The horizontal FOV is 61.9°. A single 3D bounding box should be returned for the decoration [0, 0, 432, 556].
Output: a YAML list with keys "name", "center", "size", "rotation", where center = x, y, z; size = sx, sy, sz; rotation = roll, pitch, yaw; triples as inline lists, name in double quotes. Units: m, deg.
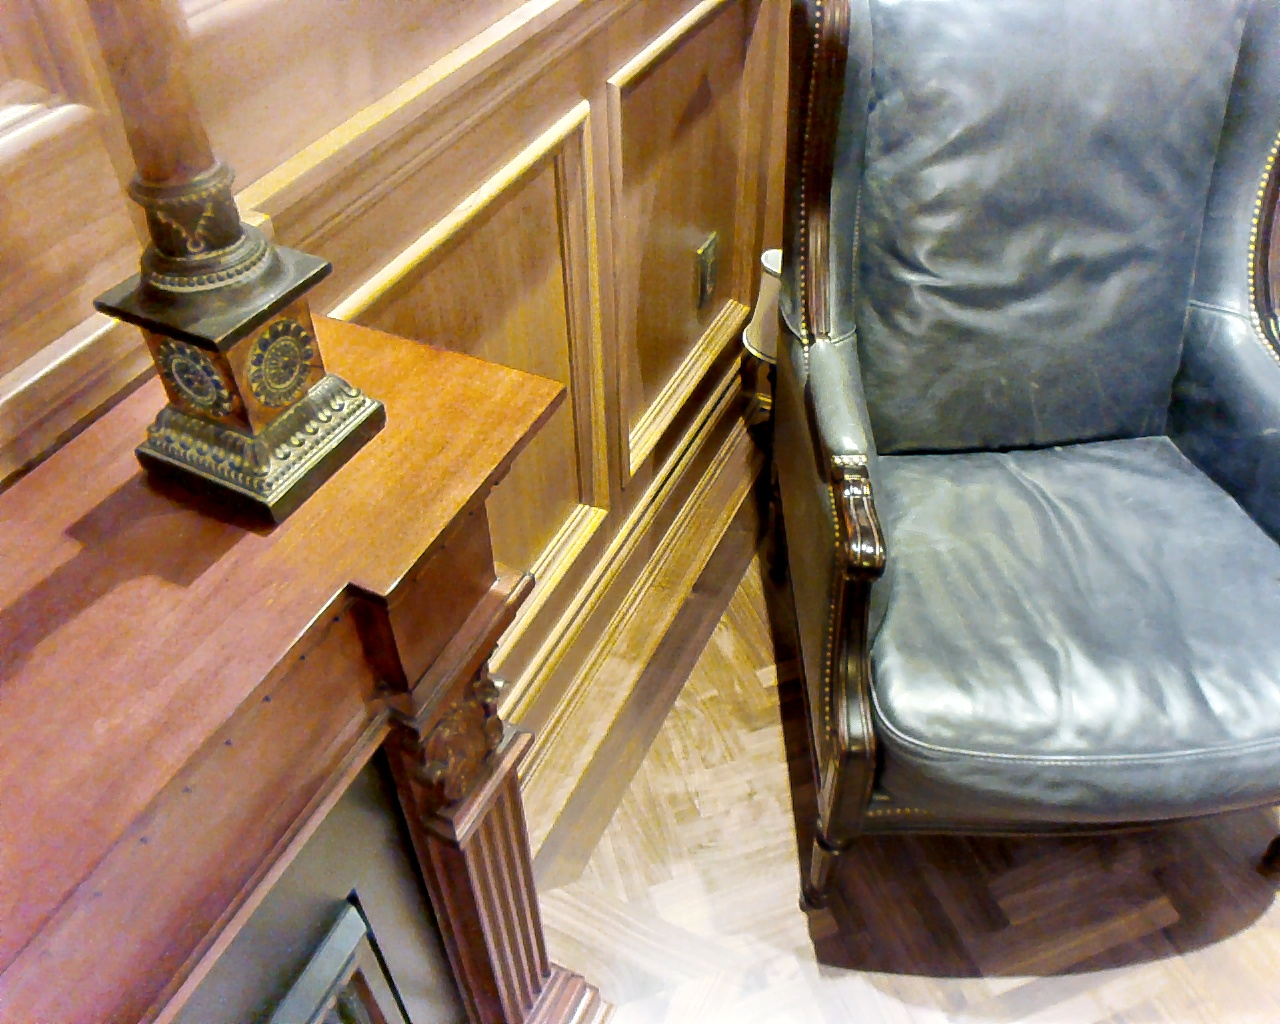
- name: "decoration"
  center: [-0.240, -0.210, 0.520]
  size: [0.150, 0.460, 0.150]
  rotation: [17, 47, 18]
